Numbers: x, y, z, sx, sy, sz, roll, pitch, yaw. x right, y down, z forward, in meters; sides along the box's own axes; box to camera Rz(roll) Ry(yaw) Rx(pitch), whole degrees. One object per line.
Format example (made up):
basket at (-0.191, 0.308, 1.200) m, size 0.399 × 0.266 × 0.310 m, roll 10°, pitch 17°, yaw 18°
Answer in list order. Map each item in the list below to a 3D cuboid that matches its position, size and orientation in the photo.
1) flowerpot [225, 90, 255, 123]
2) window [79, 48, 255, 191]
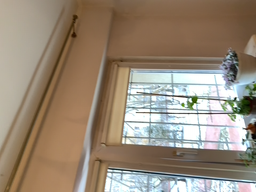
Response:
flowerpot at (0.790, 0.070, 1.400) m, size 0.120 × 0.220 × 0.180 m, roll 85°, pitch -172°, yaw -51°
window at (0.340, 0.190, 1.460) m, size 0.110 × 1.140 × 1.430 m, roll 85°, pitch -171°, yaw -53°
